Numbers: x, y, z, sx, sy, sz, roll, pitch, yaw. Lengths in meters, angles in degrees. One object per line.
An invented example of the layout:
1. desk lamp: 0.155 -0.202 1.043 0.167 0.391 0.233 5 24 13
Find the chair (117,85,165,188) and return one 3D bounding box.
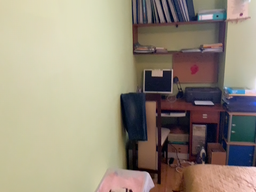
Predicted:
1. chair: 0.190 0.420 2.500 0.450 1.000 0.620 1 14 12

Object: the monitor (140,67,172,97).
1. monitor: 0.400 -0.200 3.050 0.420 0.390 0.050 -4 3 15
